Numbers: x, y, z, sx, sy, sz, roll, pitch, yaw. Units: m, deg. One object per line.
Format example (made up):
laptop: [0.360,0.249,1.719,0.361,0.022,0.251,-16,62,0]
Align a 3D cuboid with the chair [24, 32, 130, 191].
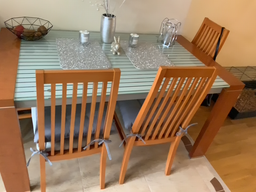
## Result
chair: [-0.340,0.150,1.290,0.420,0.910,0.470,-4,39,-21]

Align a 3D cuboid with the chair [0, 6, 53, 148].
chair: [-0.810,-0.110,1.520,0.470,0.890,0.440,-3,38,-20]
